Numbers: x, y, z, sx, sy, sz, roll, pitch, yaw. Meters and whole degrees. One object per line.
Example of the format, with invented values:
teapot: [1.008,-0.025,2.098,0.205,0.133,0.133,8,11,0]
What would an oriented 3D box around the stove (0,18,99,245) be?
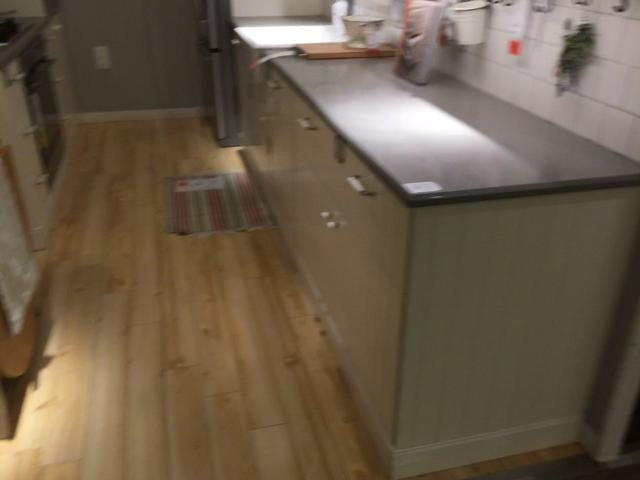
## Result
stove: [-1.760,-0.650,3.290,0.670,1.010,0.970,-8,29,-11]
